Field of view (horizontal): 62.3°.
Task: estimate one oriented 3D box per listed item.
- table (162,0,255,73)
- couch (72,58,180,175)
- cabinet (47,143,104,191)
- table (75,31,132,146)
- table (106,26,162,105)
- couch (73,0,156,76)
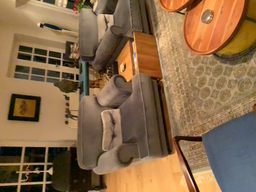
[{"bbox_3d":[0.700,-1.000,1.910,0.730,0.390,1.360,131,139,-50],"label":"table"},{"bbox_3d":[-0.140,0.360,2.760,1.120,0.910,1.120,137,133,-54],"label":"couch"},{"bbox_3d":[-1.070,1.450,4.340,0.440,1.000,0.870,134,136,-53],"label":"cabinet"},{"bbox_3d":[-0.500,-0.150,3.800,0.490,0.790,1.980,134,136,-53],"label":"table"},{"bbox_3d":[0.030,-0.400,3.240,1.040,0.360,0.720,137,133,-54],"label":"table"},{"bbox_3d":[-0.310,-1.190,3.480,1.110,0.920,1.240,137,133,-54],"label":"couch"}]
